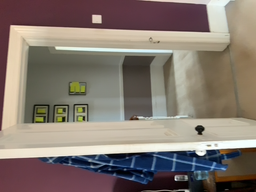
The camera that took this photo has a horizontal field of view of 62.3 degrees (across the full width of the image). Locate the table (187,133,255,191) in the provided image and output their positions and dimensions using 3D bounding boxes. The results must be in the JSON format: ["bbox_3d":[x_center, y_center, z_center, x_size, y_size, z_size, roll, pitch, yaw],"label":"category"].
[{"bbox_3d":[0.850,0.530,1.730,0.410,0.550,0.430,128,141,-75],"label":"table"}]
